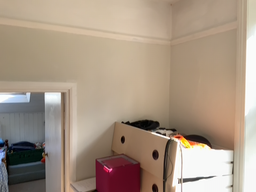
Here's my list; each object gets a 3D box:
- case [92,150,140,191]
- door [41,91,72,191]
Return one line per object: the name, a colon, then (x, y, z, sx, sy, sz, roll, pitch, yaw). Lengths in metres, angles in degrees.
case: (-0.100, 0.590, 1.590, 0.250, 0.250, 0.320, -1, 3, -28)
door: (-0.750, 0.770, 2.160, 0.100, 1.620, 0.870, -1, 3, -31)
